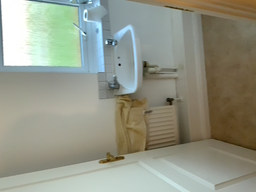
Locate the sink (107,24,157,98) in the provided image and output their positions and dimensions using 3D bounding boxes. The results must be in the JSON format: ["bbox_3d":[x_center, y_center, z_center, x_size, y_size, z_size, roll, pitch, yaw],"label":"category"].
[{"bbox_3d":[0.020,-0.230,1.530,0.290,0.220,0.460,-7,86,63],"label":"sink"}]

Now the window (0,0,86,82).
[{"bbox_3d":[-0.790,-0.410,1.540,0.100,0.920,0.610,-15,79,63],"label":"window"}]
